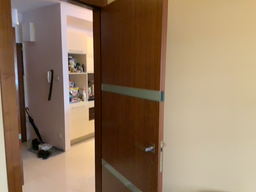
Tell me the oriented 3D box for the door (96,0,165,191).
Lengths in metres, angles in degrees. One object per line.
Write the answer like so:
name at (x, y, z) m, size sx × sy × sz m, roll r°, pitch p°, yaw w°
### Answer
door at (-0.040, 0.350, 1.600) m, size 0.060 × 2.140 × 0.780 m, roll -4°, pitch 8°, yaw -33°
